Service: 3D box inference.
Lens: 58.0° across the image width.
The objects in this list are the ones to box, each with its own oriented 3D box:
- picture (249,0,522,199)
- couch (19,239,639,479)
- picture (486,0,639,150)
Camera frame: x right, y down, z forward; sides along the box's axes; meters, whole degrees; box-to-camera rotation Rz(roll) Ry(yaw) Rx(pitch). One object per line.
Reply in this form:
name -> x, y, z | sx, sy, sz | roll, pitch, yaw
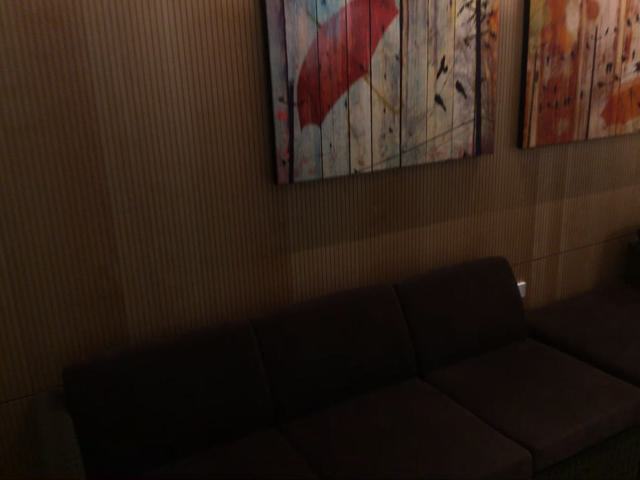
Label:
picture -> 0.270, -0.550, 2.000 | 0.990, 0.690, 0.110 | -9, 14, -22
couch -> 0.190, 0.600, 1.860 | 1.910, 0.780, 0.860 | -9, 14, -22
picture -> 1.180, -0.790, 2.390 | 1.160, 0.720, 0.080 | -9, 14, -22
